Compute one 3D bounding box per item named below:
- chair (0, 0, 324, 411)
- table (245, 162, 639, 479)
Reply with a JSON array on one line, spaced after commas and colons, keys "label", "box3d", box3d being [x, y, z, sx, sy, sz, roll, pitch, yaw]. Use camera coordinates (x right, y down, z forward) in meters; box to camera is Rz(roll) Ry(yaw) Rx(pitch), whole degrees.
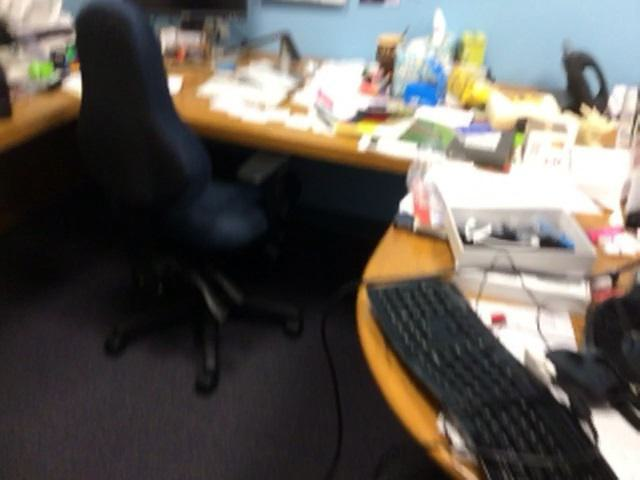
[{"label": "chair", "box3d": [-0.340, -0.150, 1.670, 0.540, 1.060, 0.560, 11, 34, 17]}, {"label": "table", "box3d": [0.480, 0.430, 1.050, 0.920, 0.770, 0.780, 11, 34, 17]}]
